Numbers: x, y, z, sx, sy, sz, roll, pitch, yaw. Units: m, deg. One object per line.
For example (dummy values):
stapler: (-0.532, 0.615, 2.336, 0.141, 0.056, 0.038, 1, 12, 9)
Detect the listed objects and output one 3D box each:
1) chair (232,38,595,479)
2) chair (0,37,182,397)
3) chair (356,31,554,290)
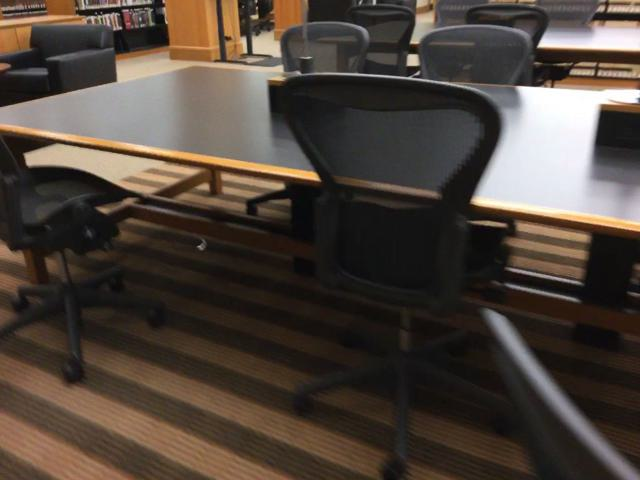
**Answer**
chair: (0.270, 0.030, 1.630, 0.690, 1.060, 0.670, 12, 27, 26)
chair: (-0.960, -0.130, 2.030, 0.550, 1.040, 0.620, 12, 27, 26)
chair: (0.620, -0.420, 2.700, 0.650, 0.980, 0.700, 12, 27, 26)
